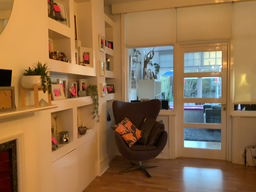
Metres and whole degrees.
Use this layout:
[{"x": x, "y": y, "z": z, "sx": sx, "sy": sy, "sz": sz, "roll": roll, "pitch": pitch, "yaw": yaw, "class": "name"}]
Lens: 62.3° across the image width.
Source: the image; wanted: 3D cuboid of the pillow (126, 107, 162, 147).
[{"x": 0.240, "y": 0.500, "z": 3.430, "sx": 0.290, "sy": 0.430, "sz": 0.380, "roll": 33, "pitch": 14, "yaw": -25, "class": "pillow"}]
